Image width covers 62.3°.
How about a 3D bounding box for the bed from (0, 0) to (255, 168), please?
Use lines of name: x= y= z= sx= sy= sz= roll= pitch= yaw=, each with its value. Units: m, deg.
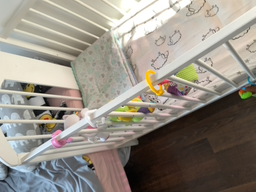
bed: x=0.160 y=-0.280 z=1.000 sx=1.290 sy=1.090 sz=0.650 roll=-33 pitch=68 yaw=28
